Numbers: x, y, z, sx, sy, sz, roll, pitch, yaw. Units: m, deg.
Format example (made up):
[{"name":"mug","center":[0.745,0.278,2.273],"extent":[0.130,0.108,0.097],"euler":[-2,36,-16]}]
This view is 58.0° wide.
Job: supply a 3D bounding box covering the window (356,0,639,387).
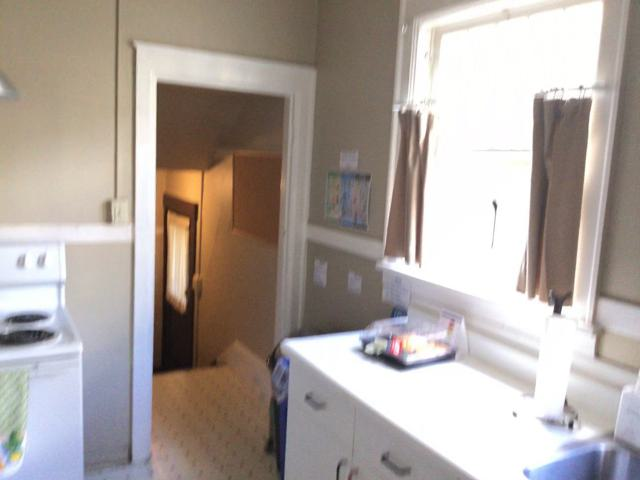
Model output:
[{"name":"window","center":[0.620,-0.310,2.080],"extent":[0.250,1.290,1.240],"euler":[2,5,-29]}]
